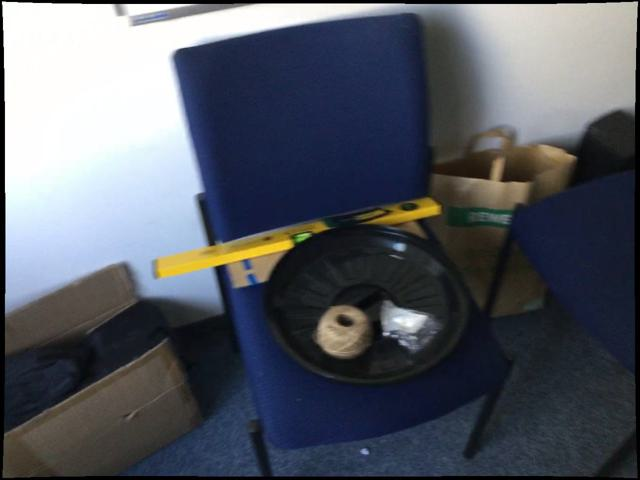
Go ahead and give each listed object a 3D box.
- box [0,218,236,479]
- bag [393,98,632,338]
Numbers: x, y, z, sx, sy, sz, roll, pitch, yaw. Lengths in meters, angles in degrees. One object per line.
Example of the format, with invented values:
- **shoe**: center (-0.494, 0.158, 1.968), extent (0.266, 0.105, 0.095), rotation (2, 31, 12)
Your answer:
- **box**: center (-0.669, 0.410, 1.230), extent (0.450, 0.360, 0.840), rotation (36, 58, 29)
- **bag**: center (0.460, -0.050, 1.510), extent (0.420, 0.460, 0.280), rotation (-18, 50, -14)
